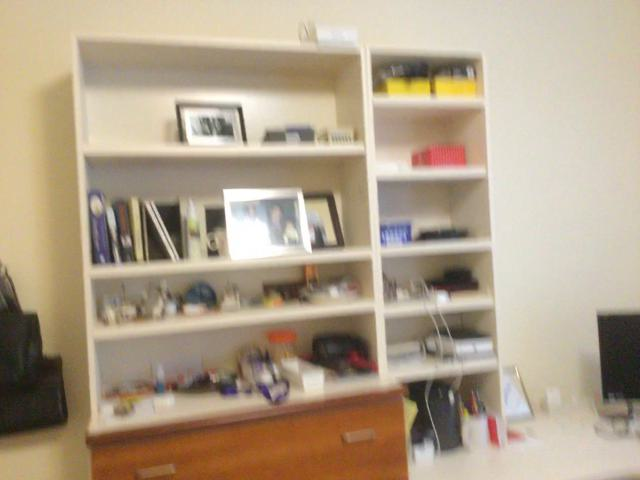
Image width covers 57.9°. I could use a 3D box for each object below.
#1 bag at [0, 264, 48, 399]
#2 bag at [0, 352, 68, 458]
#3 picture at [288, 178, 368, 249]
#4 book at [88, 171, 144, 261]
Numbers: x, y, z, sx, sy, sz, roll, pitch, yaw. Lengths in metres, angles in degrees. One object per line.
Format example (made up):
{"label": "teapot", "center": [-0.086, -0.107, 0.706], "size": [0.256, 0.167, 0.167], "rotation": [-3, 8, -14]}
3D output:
{"label": "bag", "center": [-0.980, 0.260, 1.690], "size": [0.310, 0.370, 0.200], "rotation": [0, -1, -18]}
{"label": "bag", "center": [-0.960, 0.500, 1.750], "size": [0.350, 0.280, 0.120], "rotation": [0, -1, -18]}
{"label": "picture", "center": [0.020, -0.080, 1.970], "size": [0.190, 0.220, 0.290], "rotation": [0, -1, -18]}
{"label": "book", "center": [-0.600, -0.060, 1.720], "size": [0.140, 0.240, 0.350], "rotation": [0, -1, -18]}
